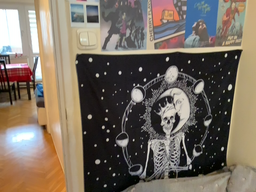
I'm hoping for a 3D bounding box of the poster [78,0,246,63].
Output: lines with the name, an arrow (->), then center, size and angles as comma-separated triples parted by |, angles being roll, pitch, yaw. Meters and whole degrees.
poster -> 0.220, -0.540, 0.890 | 0.880, 0.750, 0.040 | -8, 18, -28
